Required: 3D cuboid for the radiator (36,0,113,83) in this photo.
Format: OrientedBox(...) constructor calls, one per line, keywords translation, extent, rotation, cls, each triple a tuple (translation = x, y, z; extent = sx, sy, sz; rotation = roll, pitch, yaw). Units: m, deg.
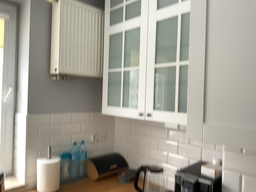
OrientedBox(translation=(-0.440, -0.460, 1.850), extent=(0.210, 0.660, 0.610), rotation=(2, 0, 45), cls="radiator")
